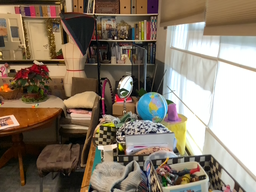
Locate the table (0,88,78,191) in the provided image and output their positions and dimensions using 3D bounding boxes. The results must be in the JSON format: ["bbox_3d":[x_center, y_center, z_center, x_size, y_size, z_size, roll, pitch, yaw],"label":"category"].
[{"bbox_3d":[-1.300,0.460,2.530,1.100,0.780,1.330,0,17,-2],"label":"table"}]
